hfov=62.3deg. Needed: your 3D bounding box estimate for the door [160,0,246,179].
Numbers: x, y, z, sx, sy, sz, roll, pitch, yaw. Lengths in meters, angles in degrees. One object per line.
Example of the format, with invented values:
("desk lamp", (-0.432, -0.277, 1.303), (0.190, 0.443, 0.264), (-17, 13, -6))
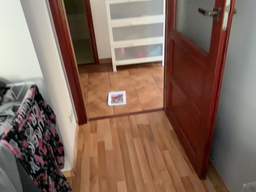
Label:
("door", (0.380, -0.490, 1.290), (0.130, 1.950, 0.840), (-7, 31, -4))
